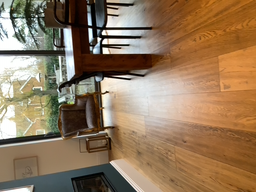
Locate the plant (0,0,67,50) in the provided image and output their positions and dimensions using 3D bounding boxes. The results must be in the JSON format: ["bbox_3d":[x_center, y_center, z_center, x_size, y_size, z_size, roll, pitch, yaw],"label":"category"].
[{"bbox_3d":[-1.080,-0.820,2.200,0.350,0.810,0.590,180,87,-70],"label":"plant"}]
